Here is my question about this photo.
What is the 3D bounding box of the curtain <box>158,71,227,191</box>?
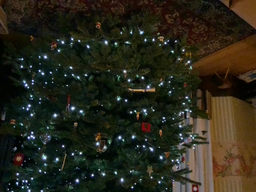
[{"bbox_3d":[0.820,1.310,2.750,0.800,3.380,0.340,3,162,-1],"label":"curtain"}]
